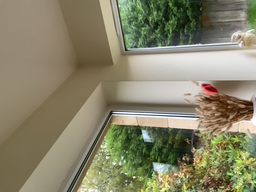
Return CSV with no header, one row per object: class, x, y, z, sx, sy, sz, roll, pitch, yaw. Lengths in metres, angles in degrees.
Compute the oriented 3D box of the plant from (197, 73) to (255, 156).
plant,0.700,0.100,1.150,0.280,0.610,0.350,-67,-28,-48
